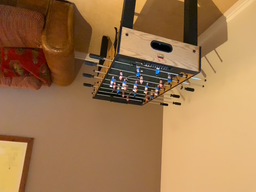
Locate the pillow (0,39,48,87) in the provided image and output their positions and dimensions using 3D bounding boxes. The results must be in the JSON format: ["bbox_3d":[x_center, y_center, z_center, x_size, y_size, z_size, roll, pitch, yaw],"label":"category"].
[{"bbox_3d":[-1.190,-0.360,2.310,0.500,0.370,0.220,-17,174,-20],"label":"pillow"}]

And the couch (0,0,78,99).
[{"bbox_3d":[-1.350,-0.560,2.250,1.480,0.750,1.150,8,164,-13],"label":"couch"}]
